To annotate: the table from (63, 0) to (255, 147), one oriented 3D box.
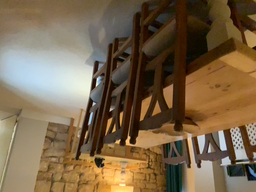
[{"bbox_3d":[0.270,-0.120,1.890,0.990,0.790,1.920,16,153,-30],"label":"table"}]
